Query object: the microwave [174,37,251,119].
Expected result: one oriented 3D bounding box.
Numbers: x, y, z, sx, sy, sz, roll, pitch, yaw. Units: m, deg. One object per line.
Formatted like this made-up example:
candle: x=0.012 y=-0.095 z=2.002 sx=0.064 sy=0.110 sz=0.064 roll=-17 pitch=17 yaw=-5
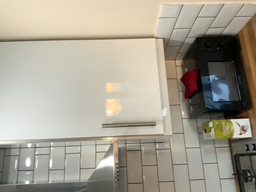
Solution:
microwave: x=0.520 y=-0.100 z=1.390 sx=0.290 sy=0.330 sz=0.460 roll=97 pitch=171 yaw=-76
